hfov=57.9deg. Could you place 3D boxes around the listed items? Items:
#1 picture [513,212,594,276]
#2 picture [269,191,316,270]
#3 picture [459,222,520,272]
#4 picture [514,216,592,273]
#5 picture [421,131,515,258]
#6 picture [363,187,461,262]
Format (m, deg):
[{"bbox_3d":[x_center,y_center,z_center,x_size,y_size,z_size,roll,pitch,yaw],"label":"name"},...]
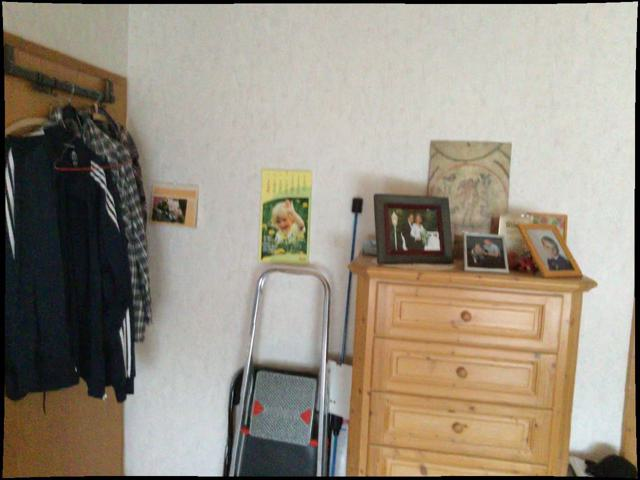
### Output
[{"bbox_3d":[0.739,0.010,1.840,0.180,0.180,0.140,3,7,-4],"label":"picture"},{"bbox_3d":[-0.110,-0.040,2.310,0.170,0.300,0.040,5,7,12],"label":"picture"},{"bbox_3d":[0.549,0.020,1.890,0.170,0.130,0.170,5,7,12],"label":"picture"},{"bbox_3d":[0.749,0.010,1.880,0.190,0.150,0.200,5,7,12],"label":"picture"},{"bbox_3d":[0.549,-0.170,2.170,0.300,0.450,0.060,5,7,12],"label":"picture"},{"bbox_3d":[0.320,-0.060,1.990,0.300,0.220,0.220,5,7,12],"label":"picture"}]
